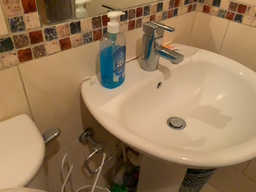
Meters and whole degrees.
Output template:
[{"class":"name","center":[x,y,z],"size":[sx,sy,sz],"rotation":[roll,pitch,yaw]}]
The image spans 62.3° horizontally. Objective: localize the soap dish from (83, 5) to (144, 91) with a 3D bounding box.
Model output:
[{"class":"soap dish","center":[-0.040,-0.130,0.570],"size":[0.110,0.180,0.100],"rotation":[32,45,32]}]
